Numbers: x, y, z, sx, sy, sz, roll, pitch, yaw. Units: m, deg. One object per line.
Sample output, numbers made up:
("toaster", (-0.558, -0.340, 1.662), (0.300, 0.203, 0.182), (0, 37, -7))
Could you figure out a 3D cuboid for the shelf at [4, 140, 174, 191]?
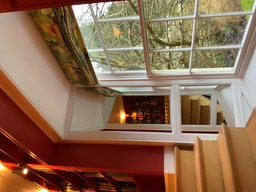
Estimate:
("shelf", (-0.390, 1.120, 2.970), (1.330, 1.980, 0.350), (77, -164, -50))
